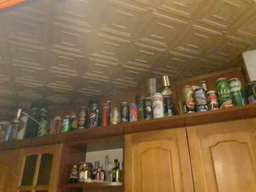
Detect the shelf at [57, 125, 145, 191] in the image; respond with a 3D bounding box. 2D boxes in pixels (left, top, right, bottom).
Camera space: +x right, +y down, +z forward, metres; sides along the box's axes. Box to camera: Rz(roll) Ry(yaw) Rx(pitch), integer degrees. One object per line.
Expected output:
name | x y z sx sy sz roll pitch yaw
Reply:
shelf | -0.180 0.680 1.400 0.520 0.860 0.270 -12 -29 22
